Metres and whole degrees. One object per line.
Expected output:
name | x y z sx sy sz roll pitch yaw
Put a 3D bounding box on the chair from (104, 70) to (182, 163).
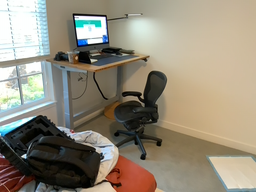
chair | 0.120 0.210 2.730 0.760 0.920 0.730 -3 21 -13
